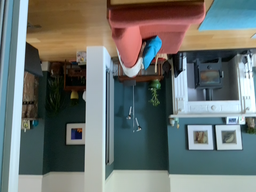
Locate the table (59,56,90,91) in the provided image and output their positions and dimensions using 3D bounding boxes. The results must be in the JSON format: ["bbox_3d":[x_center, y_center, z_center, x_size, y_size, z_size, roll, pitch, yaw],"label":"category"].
[{"bbox_3d":[-1.250,-0.510,5.010,0.620,0.740,0.360,-1,172,5],"label":"table"}]
